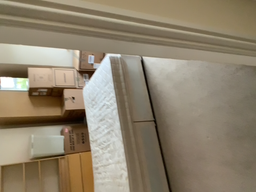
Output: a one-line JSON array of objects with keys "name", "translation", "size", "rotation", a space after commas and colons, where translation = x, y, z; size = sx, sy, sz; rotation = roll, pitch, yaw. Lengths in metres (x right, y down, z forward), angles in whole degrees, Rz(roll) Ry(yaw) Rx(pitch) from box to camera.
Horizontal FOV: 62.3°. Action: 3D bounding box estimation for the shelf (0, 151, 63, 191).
[{"name": "shelf", "translation": [-1.750, 1.520, 3.800], "size": [0.310, 1.060, 0.880], "rotation": [-36, 59, 56]}]
